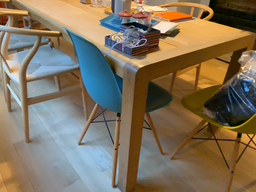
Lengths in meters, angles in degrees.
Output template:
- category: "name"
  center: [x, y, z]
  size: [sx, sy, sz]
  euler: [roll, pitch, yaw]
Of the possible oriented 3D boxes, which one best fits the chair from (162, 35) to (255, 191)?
- category: "chair"
  center: [0.520, 0.130, 1.100]
  size: [0.400, 0.730, 0.440]
  euler: [-14, 37, -25]
